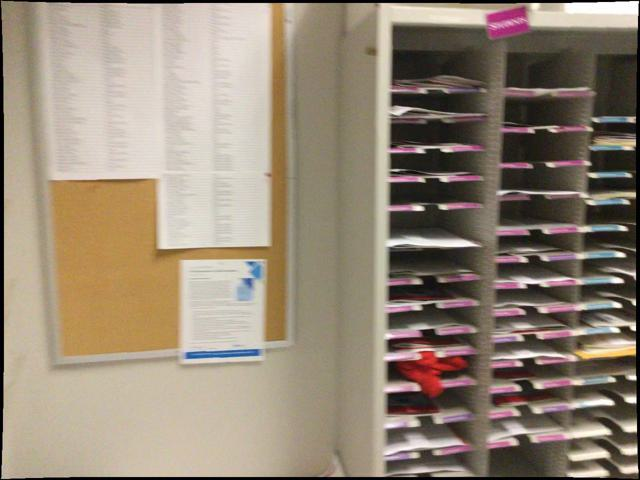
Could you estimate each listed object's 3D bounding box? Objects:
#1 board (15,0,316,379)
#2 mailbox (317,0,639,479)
[{"bbox_3d":[-0.349,-0.140,1.450,0.648,0.952,0.090,-3,12,-8],"label":"board"},{"bbox_3d":[0.938,0.060,1.460,1.796,1.193,0.570,-3,12,-8],"label":"mailbox"}]
